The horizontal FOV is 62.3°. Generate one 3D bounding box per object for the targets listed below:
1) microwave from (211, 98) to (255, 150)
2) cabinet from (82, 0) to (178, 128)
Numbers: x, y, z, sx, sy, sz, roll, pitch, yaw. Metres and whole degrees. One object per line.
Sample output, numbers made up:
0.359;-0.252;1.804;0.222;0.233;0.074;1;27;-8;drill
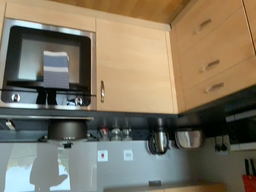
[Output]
0.850;0.190;1.360;0.330;0.280;0.460;4;163;-21;microwave
-0.040;-0.210;1.870;0.620;0.900;0.600;4;163;-21;cabinet
